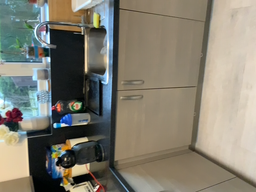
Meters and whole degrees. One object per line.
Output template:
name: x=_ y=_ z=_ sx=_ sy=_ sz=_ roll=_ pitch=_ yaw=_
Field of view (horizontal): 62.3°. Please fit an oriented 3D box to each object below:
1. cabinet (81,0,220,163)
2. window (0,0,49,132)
cabinet: x=0.150 y=-0.420 z=1.750 sx=0.600 sy=0.890 sz=1.630 roll=24 pitch=114 yaw=58
window: x=-1.170 y=-0.510 z=1.600 sx=0.120 sy=1.050 sz=1.670 roll=26 pitch=116 yaw=57
